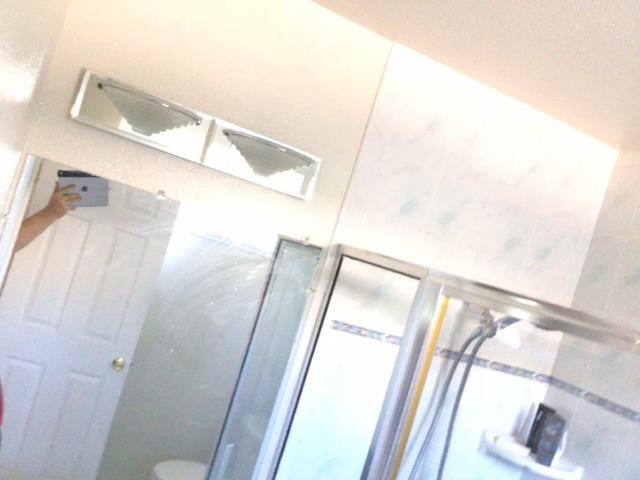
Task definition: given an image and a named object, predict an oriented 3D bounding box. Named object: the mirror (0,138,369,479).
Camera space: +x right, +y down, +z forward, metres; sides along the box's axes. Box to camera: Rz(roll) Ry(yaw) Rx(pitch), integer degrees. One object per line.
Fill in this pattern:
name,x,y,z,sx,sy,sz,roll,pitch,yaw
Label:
mirror,-0.440,0.400,1.470,0.850,1.030,0.210,21,-7,-19
